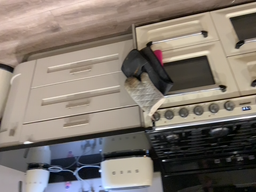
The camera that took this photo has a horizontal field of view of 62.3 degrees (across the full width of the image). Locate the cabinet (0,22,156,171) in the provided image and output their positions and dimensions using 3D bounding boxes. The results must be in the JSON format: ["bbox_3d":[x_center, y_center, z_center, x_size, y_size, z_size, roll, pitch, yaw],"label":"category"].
[{"bbox_3d":[-0.430,0.050,1.760,1.150,0.870,0.610,-10,149,9],"label":"cabinet"}]

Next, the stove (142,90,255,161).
[{"bbox_3d":[0.700,0.200,1.370,1.110,0.160,0.630,-10,149,9],"label":"stove"}]
